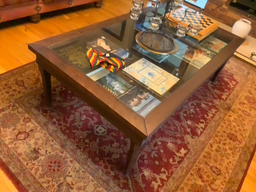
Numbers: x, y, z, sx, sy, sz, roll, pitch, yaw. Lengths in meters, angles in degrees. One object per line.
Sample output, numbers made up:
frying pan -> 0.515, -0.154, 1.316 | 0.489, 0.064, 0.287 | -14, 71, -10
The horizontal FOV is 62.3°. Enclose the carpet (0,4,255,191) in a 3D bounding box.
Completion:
carpet -> 0.220, -0.120, 1.800 | 1.770, 0.220, 2.460 | 37, 47, 21
